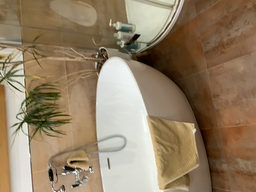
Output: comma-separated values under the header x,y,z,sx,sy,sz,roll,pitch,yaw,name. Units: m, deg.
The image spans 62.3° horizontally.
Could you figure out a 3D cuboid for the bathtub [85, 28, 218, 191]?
x,y,z,sx,sy,sz,roll,pitch,yaw,name
0.160,0.490,1.760,0.810,0.580,1.770,-17,78,55,bathtub
